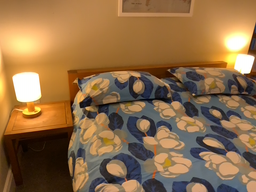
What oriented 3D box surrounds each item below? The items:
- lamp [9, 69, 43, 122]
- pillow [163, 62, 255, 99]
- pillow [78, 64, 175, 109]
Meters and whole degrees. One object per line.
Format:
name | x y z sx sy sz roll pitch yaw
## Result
lamp | -0.740 -0.010 1.570 0.170 0.310 0.240 -6 27 -19
pillow | 0.770 -0.170 1.970 0.760 0.160 0.400 -6 27 -19
pillow | -0.020 -0.100 1.690 0.670 0.160 0.370 -7 27 -22
